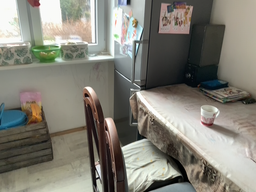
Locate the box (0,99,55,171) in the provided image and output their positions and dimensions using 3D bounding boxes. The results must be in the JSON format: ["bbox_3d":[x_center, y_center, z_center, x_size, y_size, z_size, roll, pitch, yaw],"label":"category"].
[{"bbox_3d":[-1.080,0.360,2.080,0.600,0.430,0.480,-8,25,-22],"label":"box"}]
